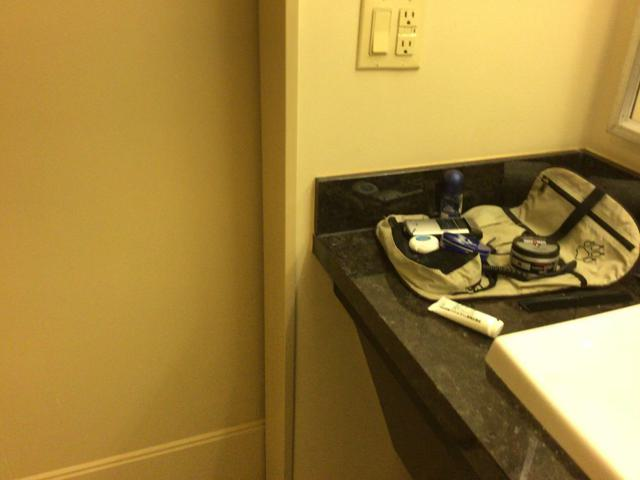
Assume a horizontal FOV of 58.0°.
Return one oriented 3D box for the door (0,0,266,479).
[{"bbox_3d":[-0.460,0.140,1.120,0.700,1.360,0.120,-9,31,-20],"label":"door"}]
